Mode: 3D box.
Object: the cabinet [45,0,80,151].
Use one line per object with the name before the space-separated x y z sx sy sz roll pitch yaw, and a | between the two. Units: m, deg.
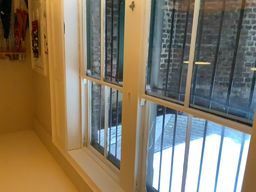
cabinet | -0.950 -0.360 3.100 0.270 2.220 0.560 -7 -163 -36
